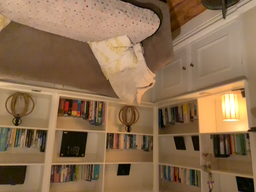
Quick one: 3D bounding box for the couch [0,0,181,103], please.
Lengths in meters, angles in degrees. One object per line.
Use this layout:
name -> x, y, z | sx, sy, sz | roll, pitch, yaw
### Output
couch -> -0.600, -0.570, 1.990 | 1.850, 0.900, 1.090 | 8, 166, -27
